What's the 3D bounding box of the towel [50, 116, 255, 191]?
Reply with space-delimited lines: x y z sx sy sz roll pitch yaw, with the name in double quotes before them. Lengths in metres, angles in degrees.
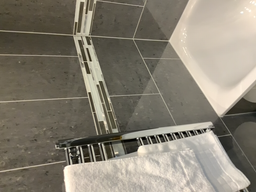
"towel" 0.150 0.280 0.770 0.130 0.790 0.330 111 147 -44
